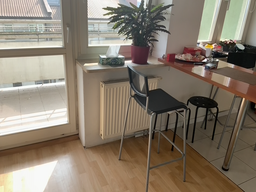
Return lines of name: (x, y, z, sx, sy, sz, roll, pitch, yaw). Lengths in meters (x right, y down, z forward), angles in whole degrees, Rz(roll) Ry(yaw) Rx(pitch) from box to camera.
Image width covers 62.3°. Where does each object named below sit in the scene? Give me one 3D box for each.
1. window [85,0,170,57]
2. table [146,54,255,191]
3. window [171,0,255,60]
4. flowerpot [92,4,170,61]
window: (0.030, -1.080, 1.830, 0.800, 1.420, 0.140, -9, 27, -27)
table: (0.790, 0.200, 2.080, 0.630, 0.930, 1.180, -8, 26, -25)
window: (1.200, -1.250, 2.640, 1.220, 1.520, 0.200, -8, 27, -26)
flowerpot: (0.010, -0.670, 2.180, 0.610, 0.460, 0.470, -10, 27, -28)
